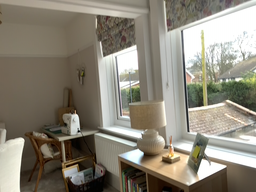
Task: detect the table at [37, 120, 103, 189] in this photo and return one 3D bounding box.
[{"bbox_3d":[-1.040,0.880,3.610,0.670,0.750,1.280,-6,3,-33],"label":"table"}]

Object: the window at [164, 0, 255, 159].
[{"bbox_3d":[0.830,-0.110,1.640,0.460,0.980,1.040,-5,3,-32],"label":"window"}]

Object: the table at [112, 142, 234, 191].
[{"bbox_3d":[0.320,0.870,1.710,0.510,0.750,0.830,-6,3,-33],"label":"table"}]

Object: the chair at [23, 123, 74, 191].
[{"bbox_3d":[-1.230,0.890,3.260,0.610,0.790,0.540,-5,3,-27],"label":"chair"}]

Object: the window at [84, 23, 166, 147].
[{"bbox_3d":[-0.090,-0.130,2.790,0.540,1.290,1.030,-5,3,-31],"label":"window"}]
